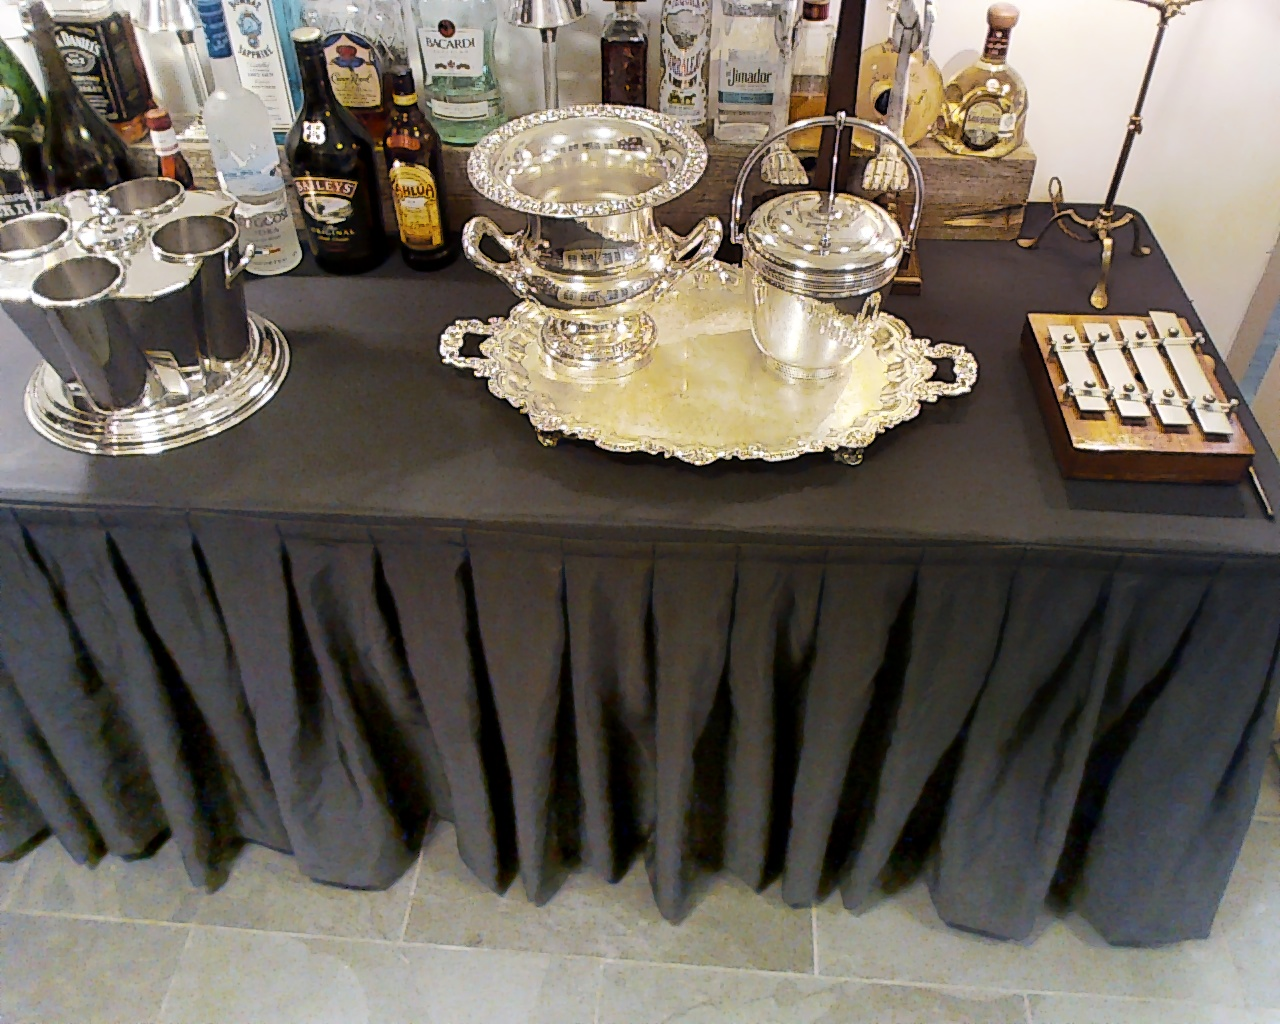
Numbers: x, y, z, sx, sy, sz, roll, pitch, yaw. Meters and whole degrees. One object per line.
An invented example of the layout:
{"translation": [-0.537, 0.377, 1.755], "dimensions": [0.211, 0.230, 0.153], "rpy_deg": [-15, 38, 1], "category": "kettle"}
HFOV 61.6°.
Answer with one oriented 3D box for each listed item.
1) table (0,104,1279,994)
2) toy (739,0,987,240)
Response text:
{"translation": [-0.160, 0.010, 1.630], "dimensions": [2.090, 0.840, 0.910], "rpy_deg": [3, 43, 3], "category": "table"}
{"translation": [0.280, -0.700, 1.310], "dimensions": [0.270, 0.700, 0.190], "rpy_deg": [3, 43, 3], "category": "toy"}
